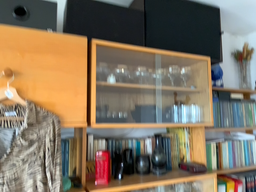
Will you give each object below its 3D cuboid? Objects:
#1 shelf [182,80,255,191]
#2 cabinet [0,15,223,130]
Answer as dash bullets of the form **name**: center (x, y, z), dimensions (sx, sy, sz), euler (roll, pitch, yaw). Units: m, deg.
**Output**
- **shelf**: center (0.850, 0.930, 1.680), dimensions (0.770, 2.040, 0.240), euler (3, -8, -24)
- **cabinet**: center (-0.600, -0.080, 1.050), dimensions (2.480, 0.480, 0.390), euler (3, -8, -24)
